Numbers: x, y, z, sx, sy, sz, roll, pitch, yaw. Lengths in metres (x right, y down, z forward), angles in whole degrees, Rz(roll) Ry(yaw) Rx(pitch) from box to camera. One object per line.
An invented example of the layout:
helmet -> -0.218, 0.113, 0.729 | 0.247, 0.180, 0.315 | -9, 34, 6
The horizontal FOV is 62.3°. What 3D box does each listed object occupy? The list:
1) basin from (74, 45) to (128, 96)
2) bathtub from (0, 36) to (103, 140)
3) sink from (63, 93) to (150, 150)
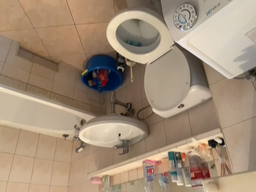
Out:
basin -> -0.260, -0.230, 2.050 | 0.350, 0.210, 0.400 | 19, 143, -32
bathtub -> -1.090, -0.070, 1.980 | 1.600, 0.500, 0.670 | 22, 141, -35
sink -> -0.170, 0.230, 1.620 | 0.440, 0.180, 0.500 | 21, 142, -34
